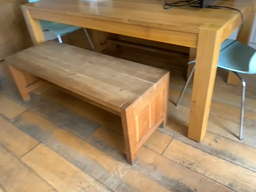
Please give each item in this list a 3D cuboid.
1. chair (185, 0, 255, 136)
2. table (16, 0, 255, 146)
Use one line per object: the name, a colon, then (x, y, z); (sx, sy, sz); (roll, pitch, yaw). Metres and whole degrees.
chair: (0.750, -0.220, 1.490); (0.460, 0.760, 0.460); (21, 42, 31)
table: (0.020, -0.470, 1.920); (1.750, 0.760, 0.920); (20, 42, 31)
